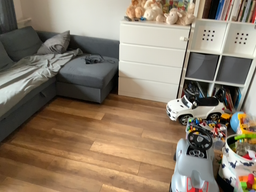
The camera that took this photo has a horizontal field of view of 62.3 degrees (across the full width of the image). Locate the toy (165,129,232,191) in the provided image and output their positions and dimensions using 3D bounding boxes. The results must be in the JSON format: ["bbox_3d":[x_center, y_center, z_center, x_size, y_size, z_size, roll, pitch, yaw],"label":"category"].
[{"bbox_3d":[0.550,0.590,1.700,0.420,0.210,0.660,11,30,13],"label":"toy"}]

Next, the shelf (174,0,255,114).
[{"bbox_3d":[1.090,-0.580,2.610,0.780,1.440,0.520,9,30,10],"label":"shelf"}]

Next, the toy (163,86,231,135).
[{"bbox_3d":[0.800,0.150,2.520,0.670,0.250,0.480,10,30,12],"label":"toy"}]

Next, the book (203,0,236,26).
[{"bbox_3d":[0.970,-0.950,2.240,0.260,0.350,0.140,9,30,11],"label":"book"}]

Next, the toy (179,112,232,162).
[{"bbox_3d":[0.780,0.400,2.190,0.440,0.160,0.480,10,30,12],"label":"toy"}]

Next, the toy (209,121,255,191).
[{"bbox_3d":[0.850,0.630,1.530,0.370,0.460,0.790,11,30,13],"label":"toy"}]
